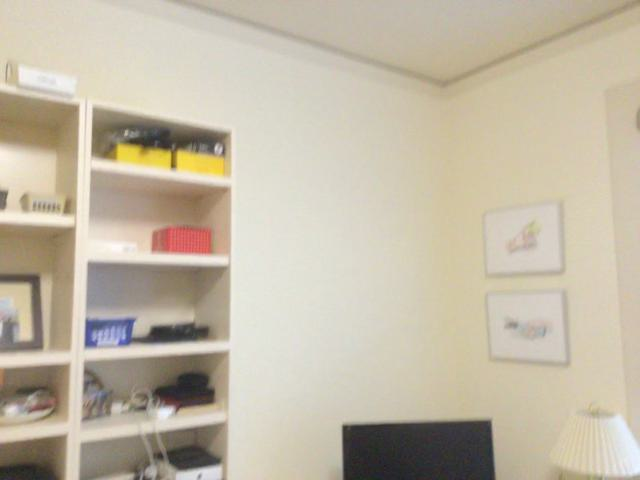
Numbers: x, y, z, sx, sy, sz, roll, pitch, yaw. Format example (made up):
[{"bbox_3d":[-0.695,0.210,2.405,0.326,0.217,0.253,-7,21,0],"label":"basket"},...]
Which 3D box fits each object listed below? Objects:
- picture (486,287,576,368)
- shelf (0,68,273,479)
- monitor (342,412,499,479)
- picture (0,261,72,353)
[{"bbox_3d":[0.870,0.360,2.420,0.060,0.310,0.380,9,-10,-36],"label":"picture"},{"bbox_3d":[-0.530,0.310,1.720,0.620,1.430,0.330,9,-10,-36],"label":"shelf"},{"bbox_3d":[0.350,0.850,2.050,0.520,0.430,0.170,3,-8,-6],"label":"monitor"},{"bbox_3d":[-0.810,0.180,1.540,0.190,0.220,0.290,9,-10,-36],"label":"picture"}]
